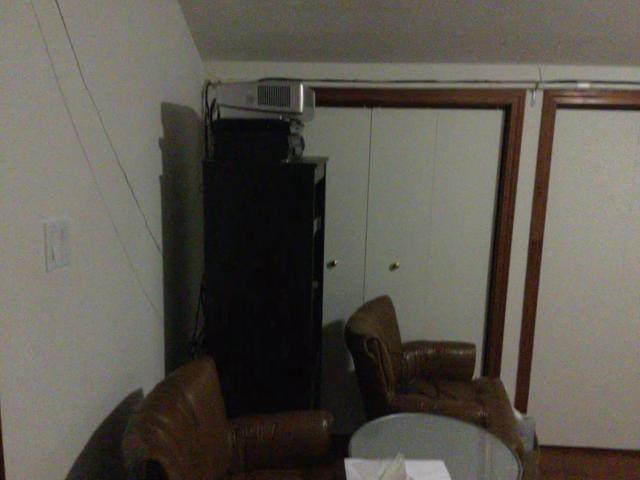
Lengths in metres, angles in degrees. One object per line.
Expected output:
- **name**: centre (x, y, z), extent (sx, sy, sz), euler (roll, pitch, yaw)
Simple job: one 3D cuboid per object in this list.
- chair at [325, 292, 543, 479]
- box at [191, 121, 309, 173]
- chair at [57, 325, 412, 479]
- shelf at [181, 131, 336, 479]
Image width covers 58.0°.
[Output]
- **chair**: centre (0.440, 0.670, 2.300), extent (0.700, 0.730, 0.700), euler (1, 12, 12)
- **box**: centre (-0.230, -0.340, 2.070), extent (0.340, 0.160, 0.420), euler (0, 11, 4)
- **chair**: centre (-0.160, 0.780, 1.680), extent (0.750, 0.830, 0.790), euler (-1, 11, 2)
- **shelf**: centre (-0.190, 0.230, 2.260), extent (0.460, 1.270, 0.560), euler (0, 11, 4)
